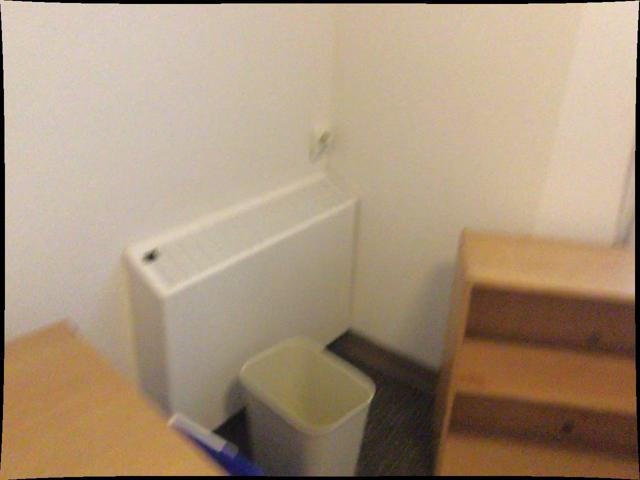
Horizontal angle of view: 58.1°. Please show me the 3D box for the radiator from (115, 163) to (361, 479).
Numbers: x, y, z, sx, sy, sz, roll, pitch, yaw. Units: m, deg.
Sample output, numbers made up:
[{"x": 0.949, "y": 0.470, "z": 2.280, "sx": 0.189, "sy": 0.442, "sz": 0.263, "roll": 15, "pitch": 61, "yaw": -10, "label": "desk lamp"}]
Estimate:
[{"x": -0.220, "y": 0.240, "z": 2.010, "sx": 0.230, "sy": 0.771, "sz": 0.900, "roll": 20, "pitch": 32, "yaw": 29, "label": "radiator"}]

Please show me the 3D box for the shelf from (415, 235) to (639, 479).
[{"x": 0.819, "y": 0.451, "z": 1.760, "sx": 0.958, "sy": 0.711, "sz": 0.450, "roll": 6, "pitch": 28, "yaw": 6, "label": "shelf"}]

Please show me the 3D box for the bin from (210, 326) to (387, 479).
[{"x": -0.070, "y": 0.581, "z": 1.790, "sx": 0.410, "sy": 0.401, "sz": 0.320, "roll": 20, "pitch": 32, "yaw": 29, "label": "bin"}]
